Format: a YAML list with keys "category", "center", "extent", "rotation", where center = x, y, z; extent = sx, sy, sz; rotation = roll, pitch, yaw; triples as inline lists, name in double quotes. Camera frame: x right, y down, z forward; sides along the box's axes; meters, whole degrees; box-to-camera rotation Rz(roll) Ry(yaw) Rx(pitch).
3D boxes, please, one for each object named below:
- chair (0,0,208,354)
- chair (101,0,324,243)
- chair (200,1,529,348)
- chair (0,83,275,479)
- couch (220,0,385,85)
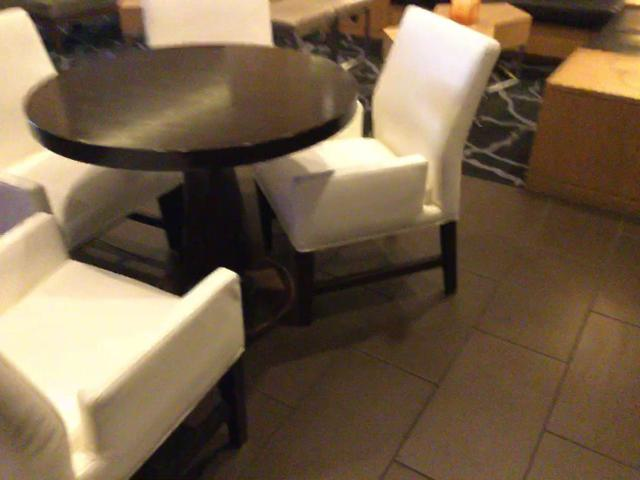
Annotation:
- category: "chair"
  center: [-0.870, -0.260, 1.900]
  extent: [0.640, 0.890, 0.630]
  rotation: [18, 37, 26]
- category: "chair"
  center: [-0.380, -0.540, 2.300]
  extent: [0.680, 0.780, 0.720]
  rotation: [-5, 33, -7]
- category: "chair"
  center: [0.090, -0.260, 1.950]
  extent: [0.790, 0.870, 0.650]
  rotation: [-10, 34, -15]
- category: "chair"
  center: [-0.550, 0.200, 1.180]
  extent: [0.630, 0.780, 0.670]
  rotation: [14, 36, 22]
- category: "couch"
  center: [-0.080, -1.510, 4.030]
  extent: [0.670, 0.470, 1.050]
  rotation: [18, 37, 26]
